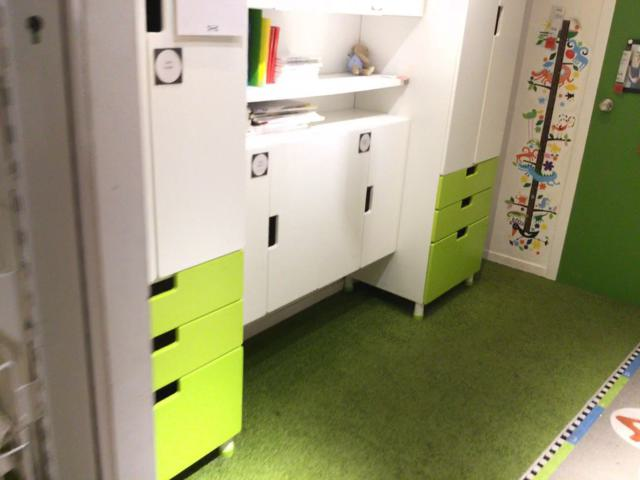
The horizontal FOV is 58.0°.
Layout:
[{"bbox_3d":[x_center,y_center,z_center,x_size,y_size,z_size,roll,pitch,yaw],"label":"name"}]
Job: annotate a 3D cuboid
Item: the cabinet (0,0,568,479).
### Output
[{"bbox_3d":[0.000,-0.440,2.080,0.650,2.000,2.370,23,29,39],"label":"cabinet"}]
